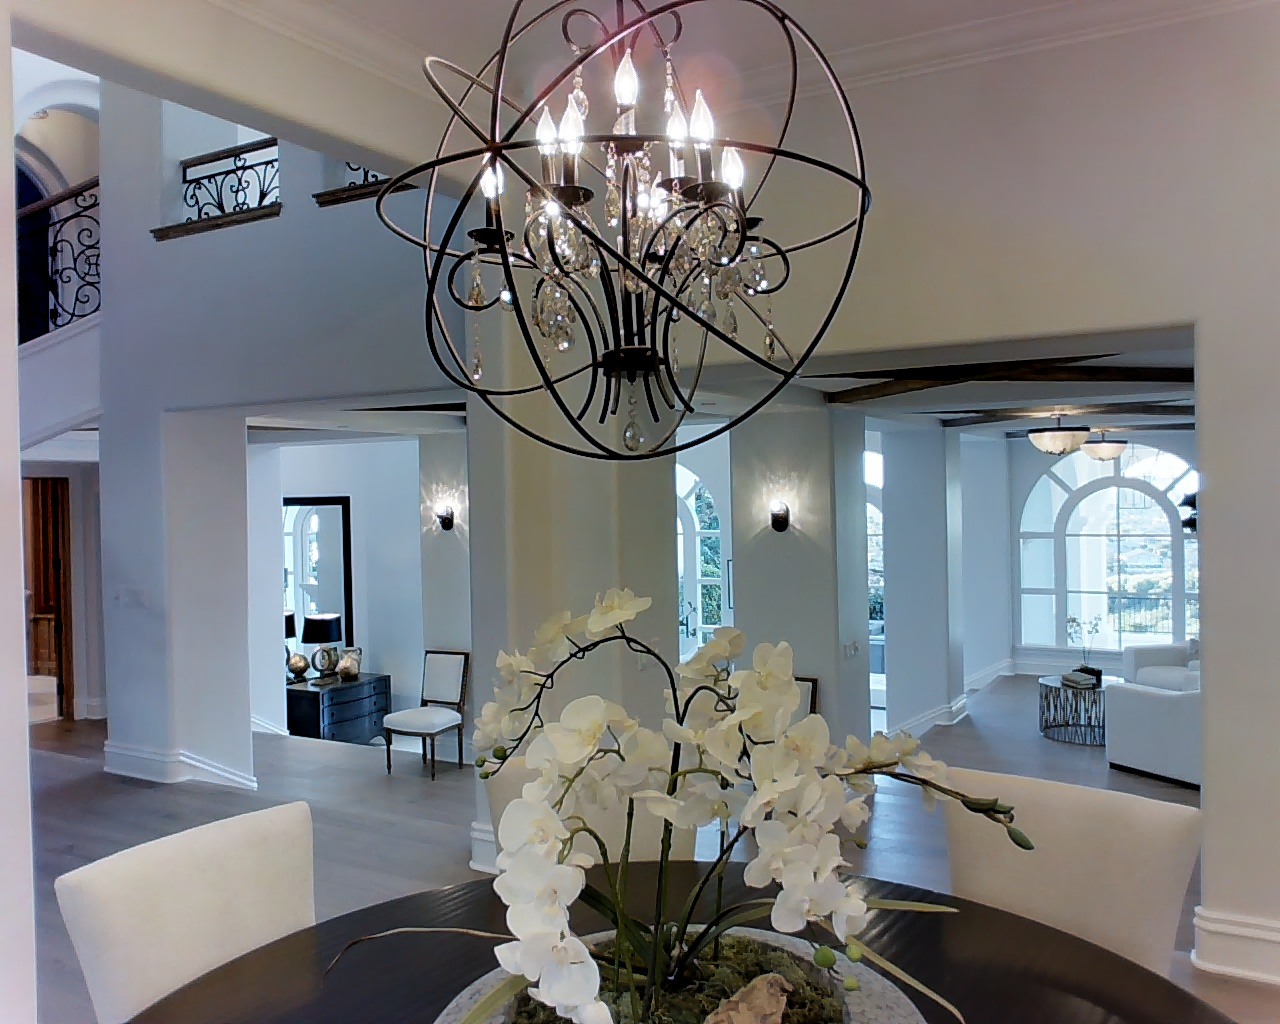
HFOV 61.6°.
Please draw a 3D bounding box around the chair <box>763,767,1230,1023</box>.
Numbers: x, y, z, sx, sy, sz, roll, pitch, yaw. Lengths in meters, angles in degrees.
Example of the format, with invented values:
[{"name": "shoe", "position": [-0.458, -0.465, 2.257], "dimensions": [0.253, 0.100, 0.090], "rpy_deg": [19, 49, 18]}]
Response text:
[{"name": "chair", "position": [0.700, 1.100, 2.040], "dimensions": [0.580, 1.000, 0.750], "rpy_deg": [-1, 1, 43]}]
